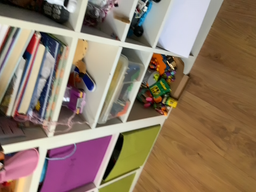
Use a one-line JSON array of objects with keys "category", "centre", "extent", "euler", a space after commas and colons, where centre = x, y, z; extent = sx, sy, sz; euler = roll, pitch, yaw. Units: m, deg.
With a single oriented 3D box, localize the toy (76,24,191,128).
[{"category": "toy", "centre": [0.020, -0.110, 1.130], "extent": [0.380, 0.350, 0.360], "euler": [37, 115, 35]}]
